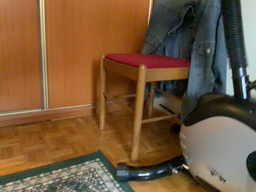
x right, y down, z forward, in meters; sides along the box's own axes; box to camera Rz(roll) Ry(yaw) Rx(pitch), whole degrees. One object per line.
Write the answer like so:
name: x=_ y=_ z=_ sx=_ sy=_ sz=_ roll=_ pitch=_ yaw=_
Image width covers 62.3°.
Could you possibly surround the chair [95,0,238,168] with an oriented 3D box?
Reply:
chair: x=0.150 y=-0.160 z=1.190 sx=0.470 sy=0.830 sz=0.530 roll=-6 pitch=20 yaw=-31
